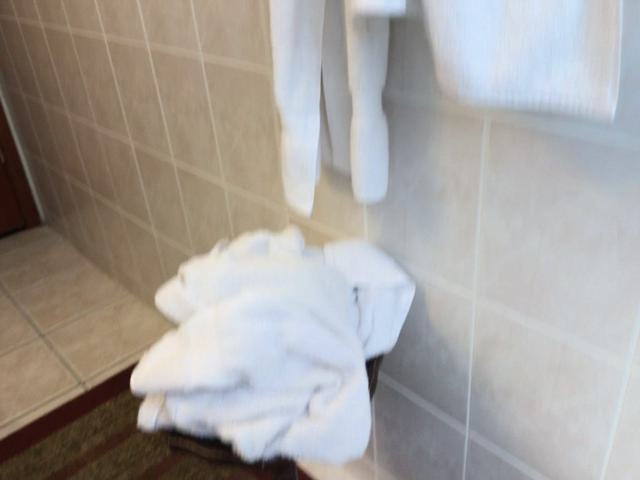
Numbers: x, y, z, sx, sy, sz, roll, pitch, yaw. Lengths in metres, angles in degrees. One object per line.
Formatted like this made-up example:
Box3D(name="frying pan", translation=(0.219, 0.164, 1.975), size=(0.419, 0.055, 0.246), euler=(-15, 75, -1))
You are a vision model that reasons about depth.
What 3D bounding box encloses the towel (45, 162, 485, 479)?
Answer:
Box3D(name="towel", translation=(-0.060, 0.150, 0.800), size=(0.400, 0.330, 0.380), euler=(-28, 36, -34))
